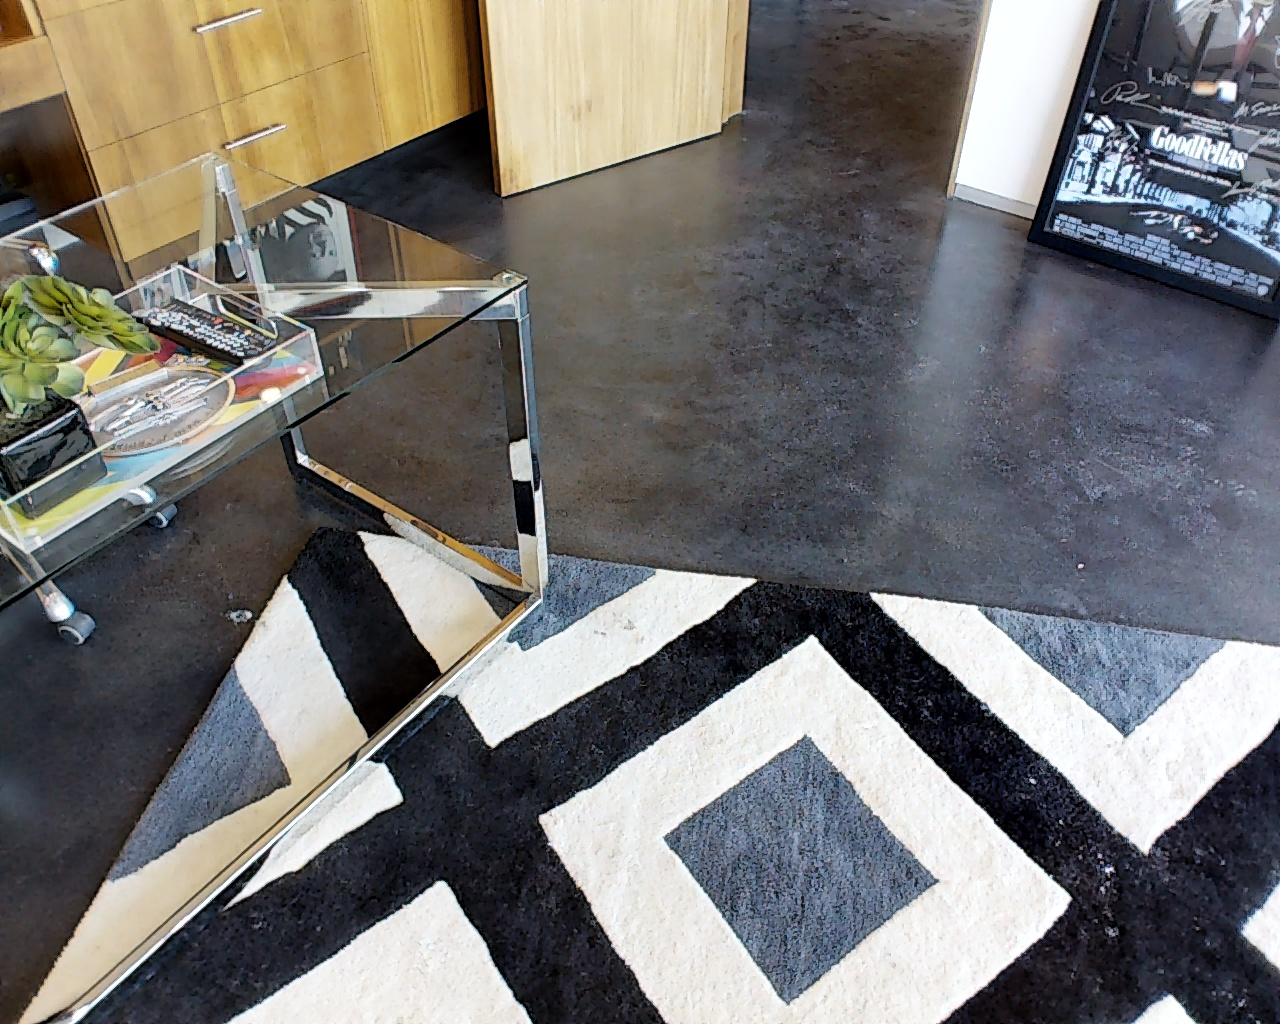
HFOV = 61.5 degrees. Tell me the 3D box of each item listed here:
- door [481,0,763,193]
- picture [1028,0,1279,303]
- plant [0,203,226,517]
[{"bbox_3d":[-0.020,-2.160,2.990,1.040,2.390,0.090,-25,48,-26],"label":"door"},{"bbox_3d":[1.610,-1.160,2.900,0.850,1.050,0.150,28,49,27],"label":"picture"},{"bbox_3d":[-0.660,-0.180,1.230,0.170,0.220,0.260,23,46,23],"label":"plant"}]
